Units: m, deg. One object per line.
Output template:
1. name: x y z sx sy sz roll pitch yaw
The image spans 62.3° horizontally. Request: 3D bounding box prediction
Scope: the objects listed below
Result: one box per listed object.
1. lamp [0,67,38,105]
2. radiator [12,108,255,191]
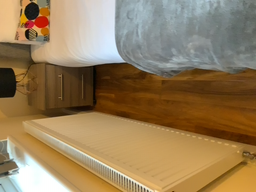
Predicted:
1. lamp: -1.030 -0.090 1.800 0.360 0.380 0.290 5 97 47
2. radiator: -0.110 0.210 1.230 1.320 0.690 0.080 5 97 47
